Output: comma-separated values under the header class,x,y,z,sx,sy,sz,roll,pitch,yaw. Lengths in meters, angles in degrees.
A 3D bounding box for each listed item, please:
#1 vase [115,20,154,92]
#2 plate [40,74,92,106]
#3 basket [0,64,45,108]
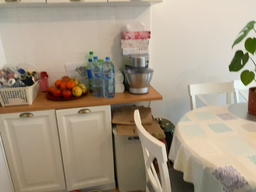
class,x,y,z,sx,sy,sz,roll,pitch,yaw
vase,0.050,-0.350,1.830,0.280,0.570,0.220,-5,19,-12
plate,-0.480,-0.060,1.720,0.360,0.170,0.290,-4,19,-8
basket,-0.830,-0.090,1.640,0.260,0.240,0.340,-4,19,-9
